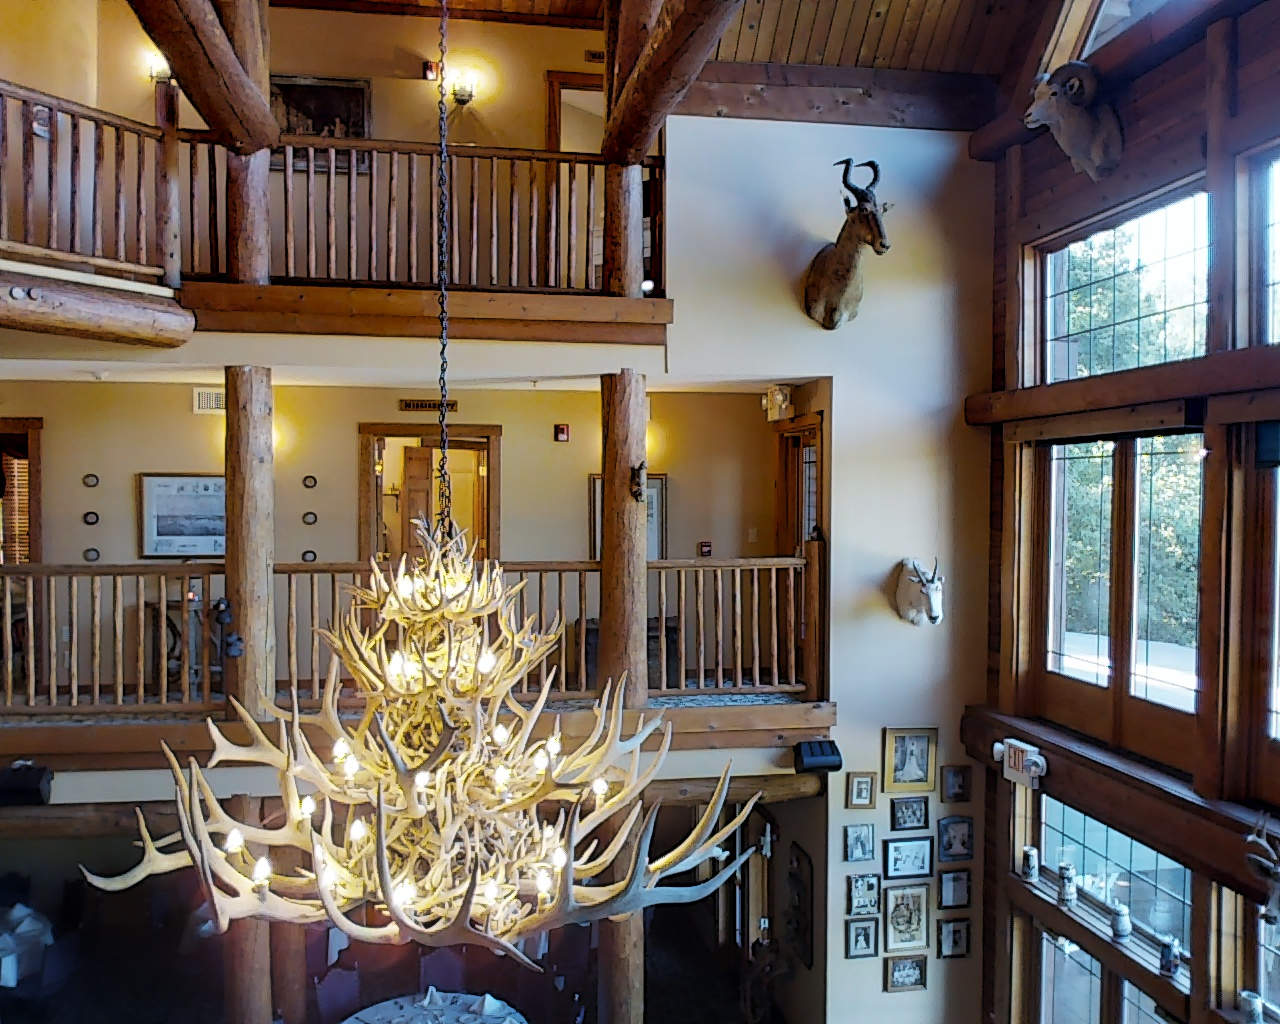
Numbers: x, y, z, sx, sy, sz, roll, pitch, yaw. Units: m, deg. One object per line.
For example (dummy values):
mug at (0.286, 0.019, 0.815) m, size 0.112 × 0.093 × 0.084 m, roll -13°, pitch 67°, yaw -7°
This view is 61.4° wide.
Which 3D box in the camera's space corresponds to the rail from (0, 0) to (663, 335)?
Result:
rail at (-2.789, -2.751, 6.640) m, size 6.129 × 2.641 × 1.330 m, roll 0°, pitch 1°, yaw -32°
